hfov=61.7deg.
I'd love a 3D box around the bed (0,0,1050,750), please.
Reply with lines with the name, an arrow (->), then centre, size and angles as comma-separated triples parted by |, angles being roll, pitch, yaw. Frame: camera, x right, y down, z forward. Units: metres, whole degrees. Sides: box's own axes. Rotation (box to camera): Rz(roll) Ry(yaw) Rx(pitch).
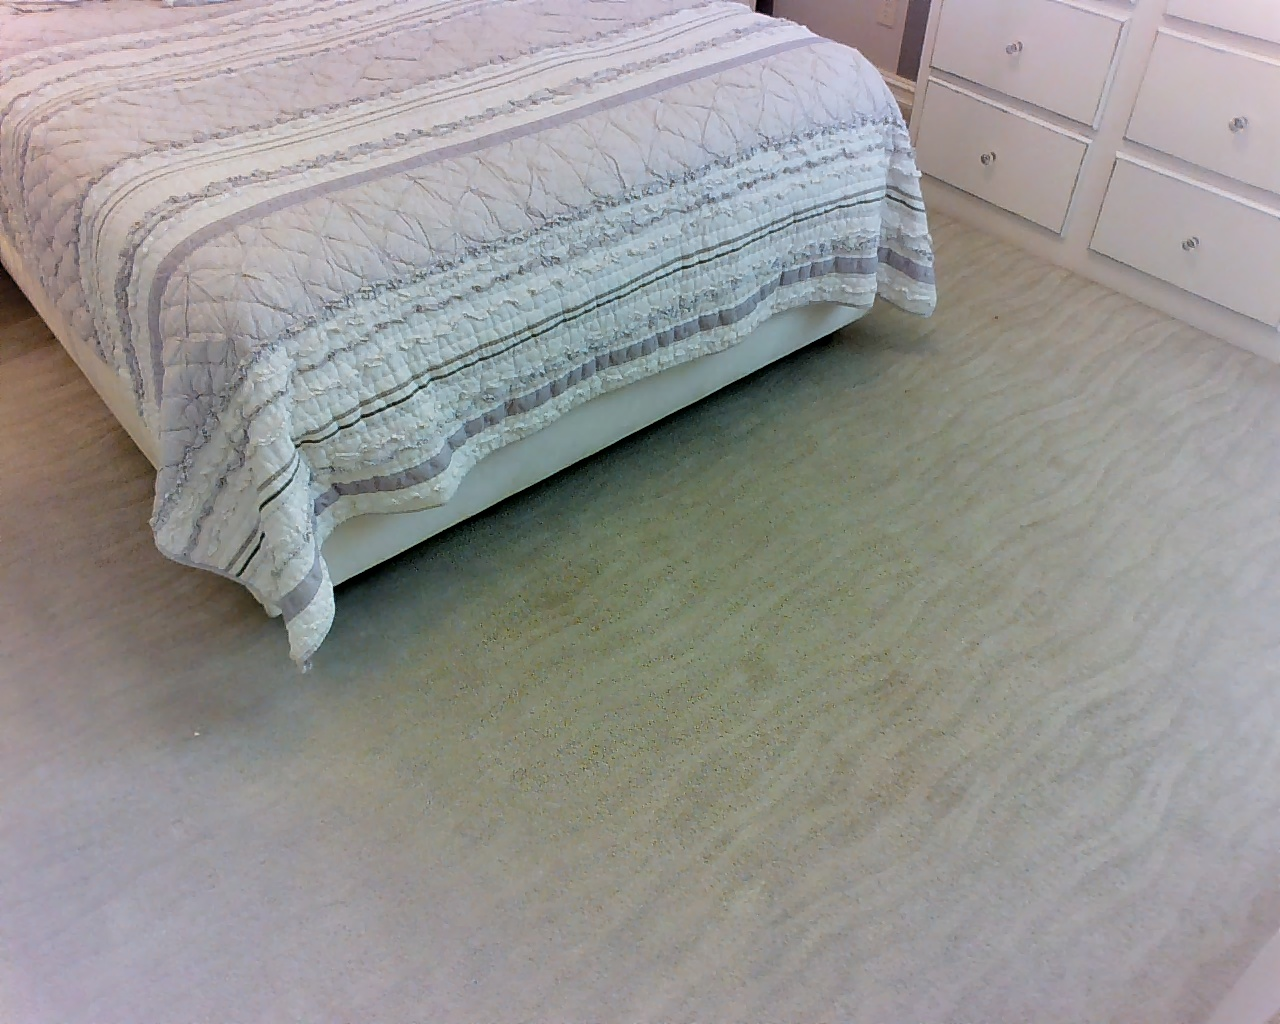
bed -> -0.660, -0.910, 2.610 | 1.840, 0.760, 2.380 | -29, 50, -28
